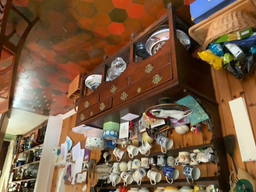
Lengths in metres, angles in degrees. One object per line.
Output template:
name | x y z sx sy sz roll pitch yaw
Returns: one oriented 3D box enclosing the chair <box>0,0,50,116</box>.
chair | -0.980 -0.360 1.490 0.460 0.870 0.500 -15 150 30
